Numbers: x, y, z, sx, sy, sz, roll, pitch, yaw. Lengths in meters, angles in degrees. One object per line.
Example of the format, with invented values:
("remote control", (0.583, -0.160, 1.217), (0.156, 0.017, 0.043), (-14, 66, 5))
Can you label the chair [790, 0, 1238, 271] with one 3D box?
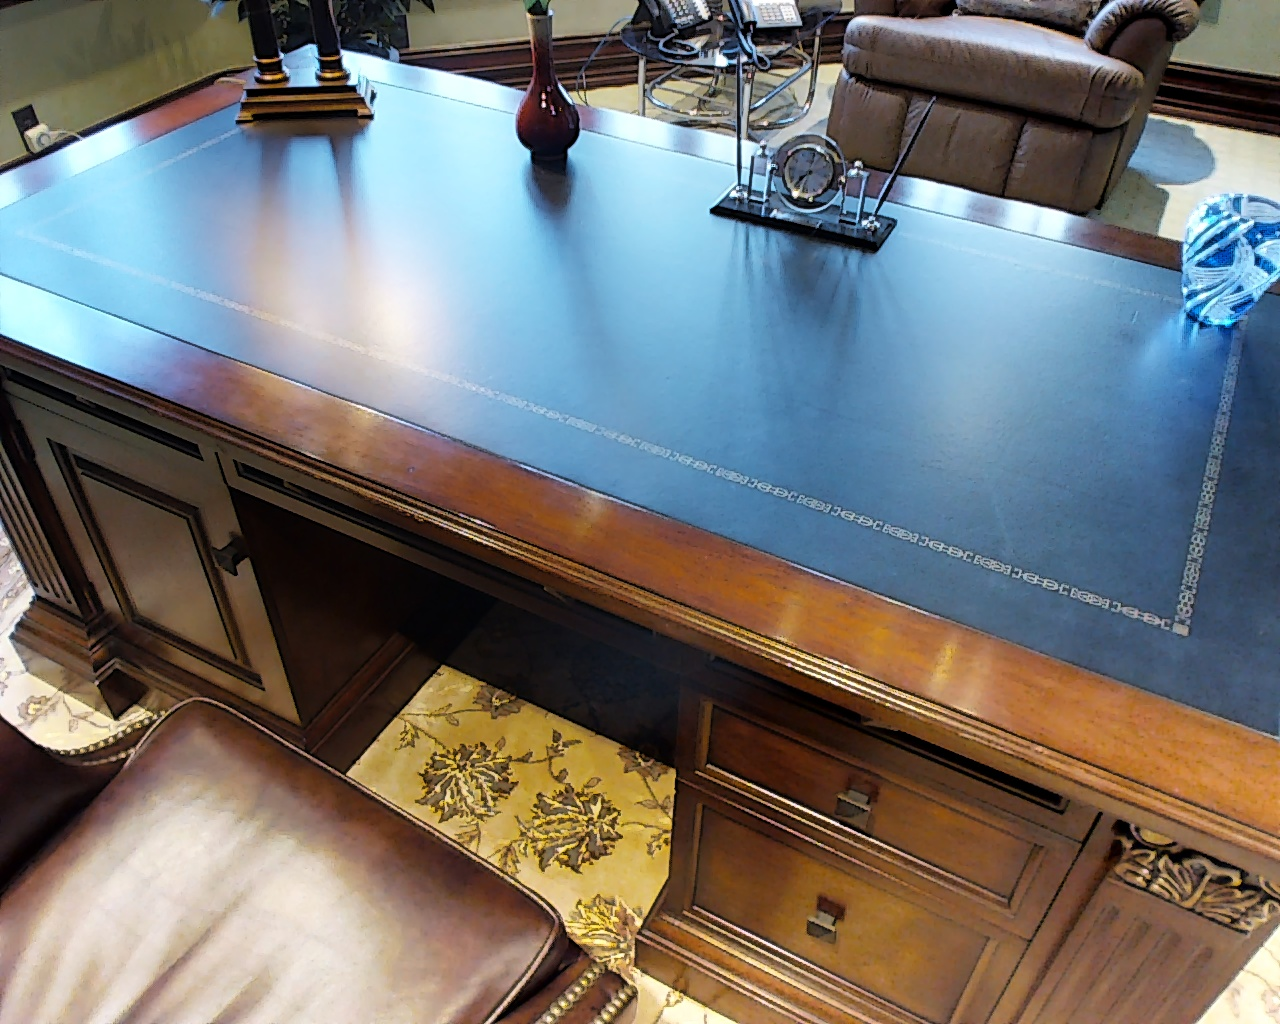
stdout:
("chair", (1.200, -1.580, 3.240), (1.050, 1.070, 1.130), (18, 44, 18))
